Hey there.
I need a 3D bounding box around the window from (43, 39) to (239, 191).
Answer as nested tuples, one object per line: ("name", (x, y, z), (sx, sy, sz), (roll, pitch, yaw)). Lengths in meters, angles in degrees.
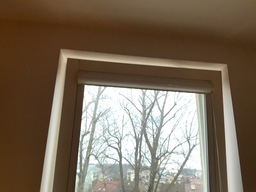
("window", (0.070, 0.510, 0.930), (0.850, 1.580, 0.120), (4, -18, -7))
